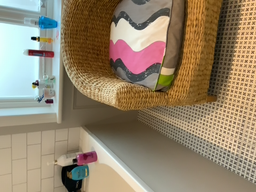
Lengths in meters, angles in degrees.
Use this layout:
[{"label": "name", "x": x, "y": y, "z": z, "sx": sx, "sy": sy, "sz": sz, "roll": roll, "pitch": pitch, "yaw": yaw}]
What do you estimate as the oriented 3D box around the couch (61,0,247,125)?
[{"label": "couch", "x": 0.100, "y": -0.360, "z": 1.290, "sx": 0.740, "sy": 0.770, "sz": 0.800, "roll": 23, "pitch": 110, "yaw": 55}]
